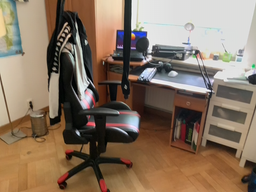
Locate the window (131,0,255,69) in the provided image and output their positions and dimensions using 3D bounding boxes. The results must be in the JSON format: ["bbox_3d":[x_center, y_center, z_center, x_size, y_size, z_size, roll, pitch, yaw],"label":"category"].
[{"bbox_3d":[0.740,-1.220,2.570,1.460,1.550,0.120,14,26,26],"label":"window"}]

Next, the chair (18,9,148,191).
[{"bbox_3d":[-0.260,0.040,1.760,0.730,1.370,0.660,4,23,4],"label":"chair"}]
